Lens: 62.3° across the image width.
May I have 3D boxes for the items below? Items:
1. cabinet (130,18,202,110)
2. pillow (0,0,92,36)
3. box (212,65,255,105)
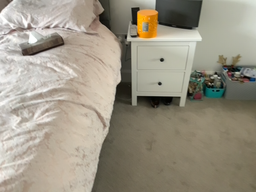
[{"bbox_3d":[0.290,-0.280,1.870,0.510,0.660,0.420,4,37,5],"label":"cabinet"},{"bbox_3d":[-0.600,-0.590,1.490,0.610,0.170,0.430,1,37,2],"label":"pillow"},{"bbox_3d":[1.050,-0.110,1.990,0.410,0.220,0.310,5,38,7],"label":"box"}]
